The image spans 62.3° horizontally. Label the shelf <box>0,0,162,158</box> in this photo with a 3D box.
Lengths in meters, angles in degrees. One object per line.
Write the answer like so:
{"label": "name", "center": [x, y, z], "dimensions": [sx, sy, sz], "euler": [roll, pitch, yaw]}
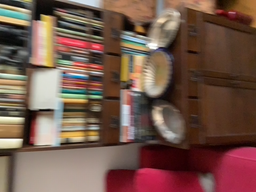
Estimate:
{"label": "shelf", "center": [-0.340, -0.120, 1.190], "dimensions": [0.340, 1.050, 0.810], "euler": [-9, 79, 63]}
